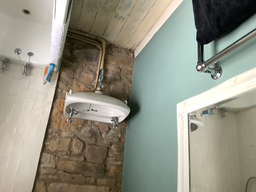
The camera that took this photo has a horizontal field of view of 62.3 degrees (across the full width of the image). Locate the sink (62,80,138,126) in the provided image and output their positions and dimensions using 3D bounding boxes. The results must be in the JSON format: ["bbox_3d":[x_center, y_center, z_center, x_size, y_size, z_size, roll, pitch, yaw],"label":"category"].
[{"bbox_3d":[-0.270,0.090,2.010,0.630,0.240,0.350,12,159,-18],"label":"sink"}]
